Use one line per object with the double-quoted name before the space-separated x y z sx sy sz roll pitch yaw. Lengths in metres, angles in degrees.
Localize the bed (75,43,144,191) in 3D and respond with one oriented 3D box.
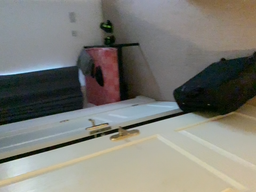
"bed" -0.300 0.270 3.210 1.060 0.480 2.030 20 117 59
